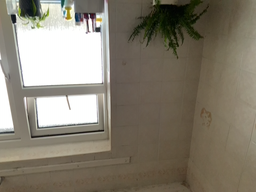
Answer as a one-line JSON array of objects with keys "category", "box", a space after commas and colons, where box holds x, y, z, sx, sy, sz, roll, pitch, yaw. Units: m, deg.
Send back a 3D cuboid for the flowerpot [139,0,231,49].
[{"category": "flowerpot", "box": [0.290, -0.470, 1.210, 0.430, 0.350, 0.320, 2, -161, 1]}]
